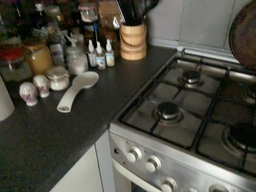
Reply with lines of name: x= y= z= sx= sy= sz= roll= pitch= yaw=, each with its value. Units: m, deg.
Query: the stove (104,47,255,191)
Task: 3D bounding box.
stove: x=0.300 y=0.060 z=0.770 sx=0.500 sy=0.180 sz=0.600 roll=18 pitch=41 yaw=26
